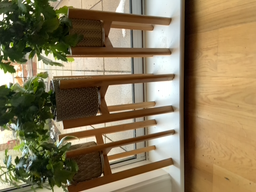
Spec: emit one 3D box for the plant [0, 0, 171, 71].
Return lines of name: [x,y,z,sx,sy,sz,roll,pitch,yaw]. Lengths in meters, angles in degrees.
plant: [-0.160,-0.220,0.780,0.230,0.610,0.220,0,94,61]
